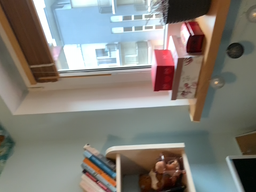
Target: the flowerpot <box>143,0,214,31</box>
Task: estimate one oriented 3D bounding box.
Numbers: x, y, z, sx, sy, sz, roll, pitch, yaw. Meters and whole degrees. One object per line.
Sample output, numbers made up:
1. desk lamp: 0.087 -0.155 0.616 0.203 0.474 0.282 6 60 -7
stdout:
1. flowerpot: 0.180 -0.390 0.820 0.160 0.230 0.220 85 -178 -48
